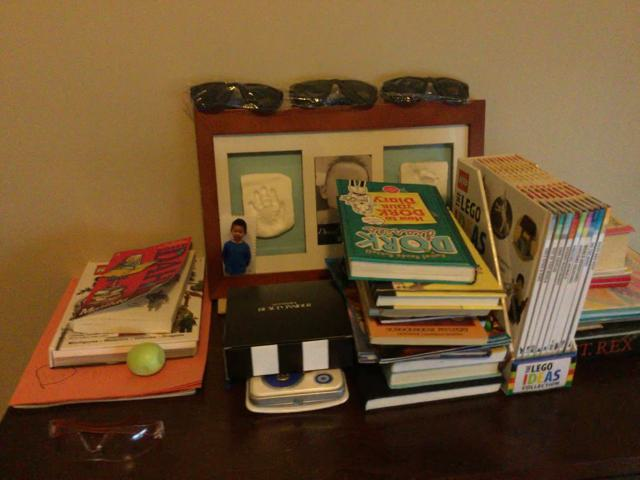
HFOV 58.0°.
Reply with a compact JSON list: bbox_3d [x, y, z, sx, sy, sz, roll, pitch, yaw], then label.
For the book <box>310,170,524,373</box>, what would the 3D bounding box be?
[{"bbox_3d":[0.100,0.020,0.750,0.190,0.140,0.290,-4,23,-7],"label":"book"}]
